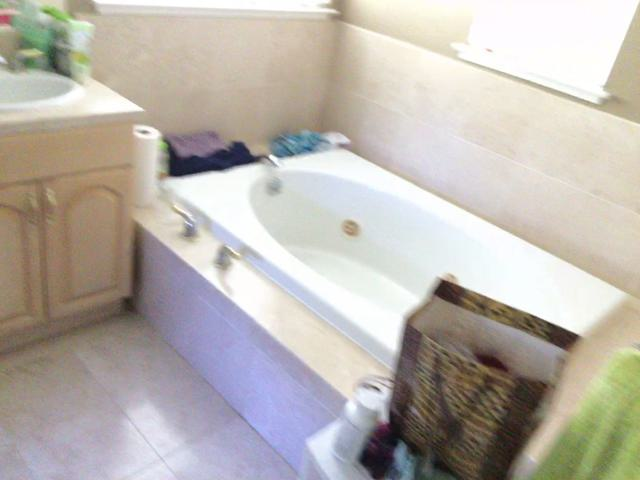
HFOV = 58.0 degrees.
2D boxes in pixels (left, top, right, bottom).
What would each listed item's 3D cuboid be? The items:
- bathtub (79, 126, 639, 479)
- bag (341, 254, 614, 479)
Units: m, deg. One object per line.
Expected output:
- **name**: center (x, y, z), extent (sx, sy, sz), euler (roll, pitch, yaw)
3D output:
- **bathtub**: center (0.110, 0.180, 2.210), extent (1.830, 0.540, 1.210), euler (32, 33, 33)
- **bag**: center (0.270, 0.270, 1.060), extent (0.330, 0.330, 0.230), euler (31, 32, 32)
